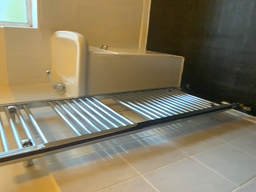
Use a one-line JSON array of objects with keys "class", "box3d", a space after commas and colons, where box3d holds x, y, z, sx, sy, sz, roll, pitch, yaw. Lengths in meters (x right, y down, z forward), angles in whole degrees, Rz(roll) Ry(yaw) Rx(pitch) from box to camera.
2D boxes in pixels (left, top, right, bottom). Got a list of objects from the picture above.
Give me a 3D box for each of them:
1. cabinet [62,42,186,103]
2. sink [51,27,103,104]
[{"class": "cabinet", "box3d": [-0.040, -0.230, 1.740, 0.530, 0.840, 0.330, 28, 118, 51]}, {"class": "sink", "box3d": [-0.380, -0.240, 1.480, 0.530, 0.150, 0.430, 28, 118, 51]}]
